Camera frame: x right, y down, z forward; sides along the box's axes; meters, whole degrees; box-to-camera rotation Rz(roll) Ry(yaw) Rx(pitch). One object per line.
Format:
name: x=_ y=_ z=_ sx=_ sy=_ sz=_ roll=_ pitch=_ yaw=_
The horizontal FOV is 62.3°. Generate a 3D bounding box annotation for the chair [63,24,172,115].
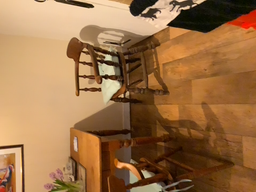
chair: x=-0.140 y=-0.210 z=2.060 sx=0.560 sy=0.810 sz=0.600 roll=-43 pitch=54 yaw=54

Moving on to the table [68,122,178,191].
table: x=-0.100 y=0.780 z=2.070 sx=0.870 sy=0.750 sz=0.940 roll=-5 pitch=86 yaw=61
